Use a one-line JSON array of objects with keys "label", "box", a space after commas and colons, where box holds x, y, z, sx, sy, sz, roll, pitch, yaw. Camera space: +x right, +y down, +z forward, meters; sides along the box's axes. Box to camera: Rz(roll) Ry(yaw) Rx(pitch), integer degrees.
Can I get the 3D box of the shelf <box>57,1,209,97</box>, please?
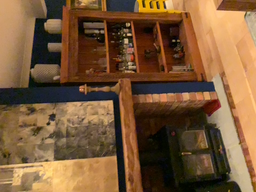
[{"label": "shelf", "box": [0.020, -0.730, 3.280, 0.560, 2.020, 1.300, 109, 157, -65]}]
